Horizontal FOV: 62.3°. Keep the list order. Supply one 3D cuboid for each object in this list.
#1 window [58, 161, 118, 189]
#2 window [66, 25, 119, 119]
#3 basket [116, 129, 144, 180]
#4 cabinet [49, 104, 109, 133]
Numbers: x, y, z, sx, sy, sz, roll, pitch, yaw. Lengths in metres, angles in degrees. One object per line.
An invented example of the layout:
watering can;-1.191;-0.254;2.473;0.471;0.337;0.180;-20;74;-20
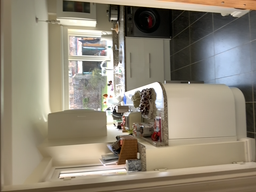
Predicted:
window;-0.380;0.740;2.030;0.320;0.520;0.110;175;95;-77
window;-0.740;-0.480;4.420;0.240;1.040;1.870;169;100;-77
basket;0.010;0.560;2.100;0.340;0.200;0.410;167;102;-77
cabinet;-0.730;0.310;3.210;1.100;0.740;0.340;167;102;-77
